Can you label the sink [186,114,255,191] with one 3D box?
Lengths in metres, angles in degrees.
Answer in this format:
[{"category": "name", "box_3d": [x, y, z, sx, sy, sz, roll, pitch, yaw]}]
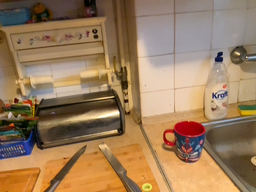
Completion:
[{"category": "sink", "box_3d": [0.490, 0.240, 0.730, 0.410, 0.150, 0.440, -8, 22, -8]}]
